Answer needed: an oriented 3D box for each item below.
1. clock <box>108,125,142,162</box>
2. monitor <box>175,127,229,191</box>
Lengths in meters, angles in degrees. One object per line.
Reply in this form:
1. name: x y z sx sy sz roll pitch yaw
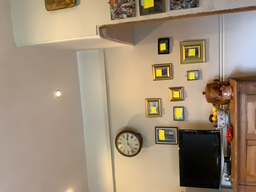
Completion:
1. clock: -0.030 0.610 2.770 0.200 0.380 0.420 -35 -57 -71
2. monitor: 0.810 0.720 2.370 0.080 0.520 0.720 -36 -53 -71
